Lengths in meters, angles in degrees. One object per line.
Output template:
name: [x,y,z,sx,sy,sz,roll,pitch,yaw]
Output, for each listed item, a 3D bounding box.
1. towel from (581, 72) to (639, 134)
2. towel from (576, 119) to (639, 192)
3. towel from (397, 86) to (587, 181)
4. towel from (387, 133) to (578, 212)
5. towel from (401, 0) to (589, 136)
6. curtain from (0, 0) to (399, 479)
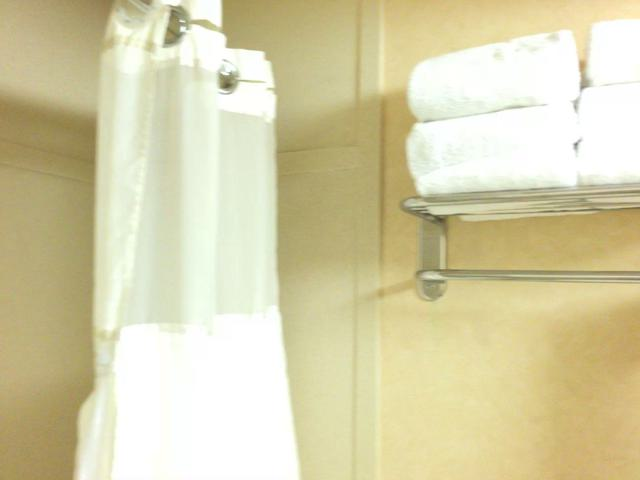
towel: [0.500,-0.200,0.800,0.250,0.070,0.040,-1,-6,28]
towel: [0.490,-0.120,0.780,0.260,0.090,0.040,-1,-6,28]
towel: [0.260,-0.160,0.900,0.280,0.110,0.040,-1,-6,28]
towel: [0.250,-0.100,0.910,0.280,0.090,0.070,-1,-6,28]
towel: [0.280,-0.270,0.930,0.270,0.150,0.120,-1,-6,28]
curtain: [-0.170,0.610,0.860,0.290,2.030,0.770,-1,-6,28]
